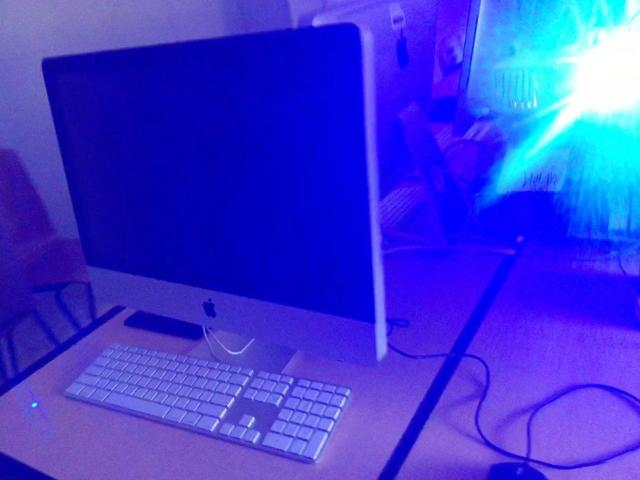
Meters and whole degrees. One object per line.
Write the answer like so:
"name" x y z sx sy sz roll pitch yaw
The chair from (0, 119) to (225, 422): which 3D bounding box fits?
"chair" -0.830 0.060 2.040 0.540 0.800 0.610 8 32 33
